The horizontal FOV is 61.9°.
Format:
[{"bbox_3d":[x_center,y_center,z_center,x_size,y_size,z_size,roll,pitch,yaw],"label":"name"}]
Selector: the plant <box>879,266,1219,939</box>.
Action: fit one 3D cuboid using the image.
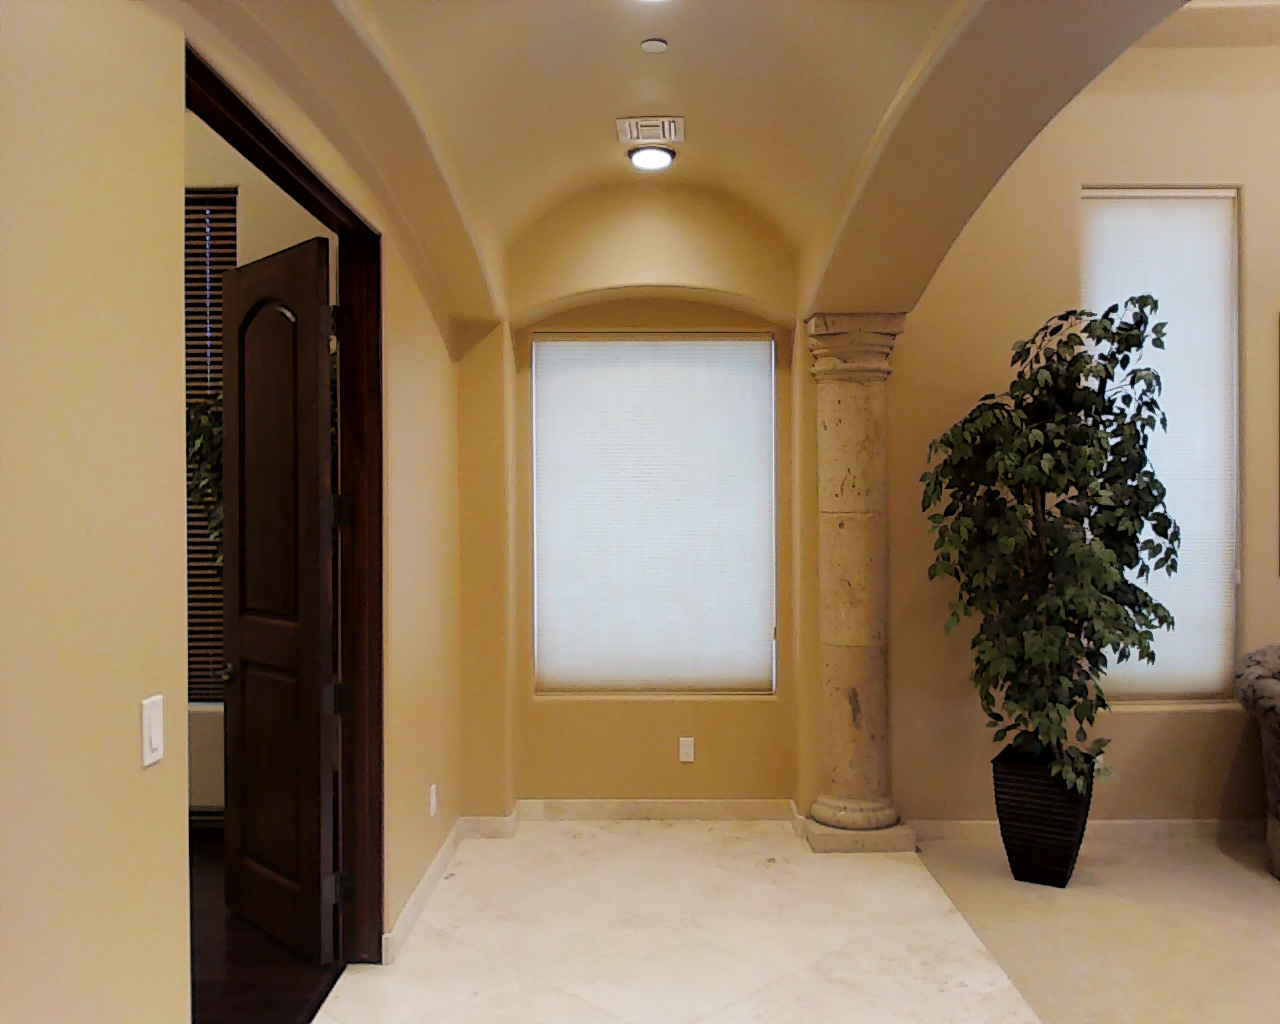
[{"bbox_3d":[1.710,0.310,4.460,1.050,2.370,0.960,-1,2,-45],"label":"plant"}]
